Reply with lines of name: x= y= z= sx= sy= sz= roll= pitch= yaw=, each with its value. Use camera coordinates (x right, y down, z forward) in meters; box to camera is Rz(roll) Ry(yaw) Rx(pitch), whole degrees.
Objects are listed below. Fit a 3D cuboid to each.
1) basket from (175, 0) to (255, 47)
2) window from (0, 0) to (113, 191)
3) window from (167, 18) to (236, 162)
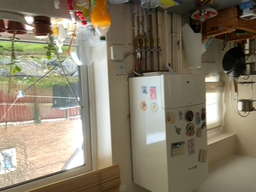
basket: x=0.850 y=-0.660 z=1.990 sx=0.580 sy=0.270 sz=0.550 roll=-6 pitch=-174 yaw=-39
window: x=-0.710 y=0.030 z=1.150 sx=1.180 sy=1.170 sz=0.370 roll=-6 pitch=-174 yaw=-35
window: x=0.840 y=-0.080 z=2.300 sx=0.940 sy=1.300 sz=0.260 roll=-6 pitch=-174 yaw=-40
